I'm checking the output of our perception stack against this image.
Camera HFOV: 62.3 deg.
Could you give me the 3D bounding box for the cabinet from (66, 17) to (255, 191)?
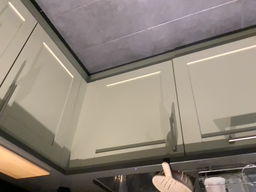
[{"bbox_3d":[0.580,0.110,1.430,1.710,0.910,0.630,-13,137,19],"label":"cabinet"}]
